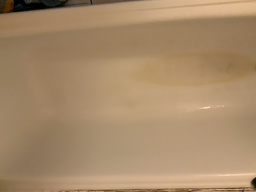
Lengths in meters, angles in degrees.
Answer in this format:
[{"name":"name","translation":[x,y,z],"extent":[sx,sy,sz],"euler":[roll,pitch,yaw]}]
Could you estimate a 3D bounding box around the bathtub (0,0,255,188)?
[{"name":"bathtub","translation":[0.060,-0.080,0.950],"extent":[1.690,0.590,0.690],"euler":[-2,116,5]}]
